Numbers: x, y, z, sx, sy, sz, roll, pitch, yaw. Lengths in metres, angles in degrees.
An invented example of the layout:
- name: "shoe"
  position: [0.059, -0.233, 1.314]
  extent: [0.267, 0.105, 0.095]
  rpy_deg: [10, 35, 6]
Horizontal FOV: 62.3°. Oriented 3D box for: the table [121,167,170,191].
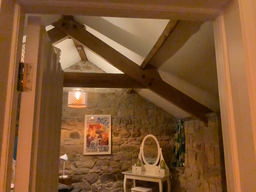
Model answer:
- name: "table"
  position: [0.390, 2.030, 4.680]
  extent: [0.920, 0.740, 0.580]
  rpy_deg: [-5, -10, 28]
